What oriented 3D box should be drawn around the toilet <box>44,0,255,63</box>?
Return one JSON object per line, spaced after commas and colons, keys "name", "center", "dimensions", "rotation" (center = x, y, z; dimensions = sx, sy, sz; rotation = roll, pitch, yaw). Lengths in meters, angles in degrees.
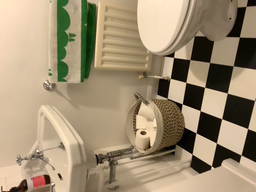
{"name": "toilet", "center": [0.140, -0.560, 0.950], "dimensions": [0.470, 0.870, 0.720], "rotation": [26, 114, 53]}
